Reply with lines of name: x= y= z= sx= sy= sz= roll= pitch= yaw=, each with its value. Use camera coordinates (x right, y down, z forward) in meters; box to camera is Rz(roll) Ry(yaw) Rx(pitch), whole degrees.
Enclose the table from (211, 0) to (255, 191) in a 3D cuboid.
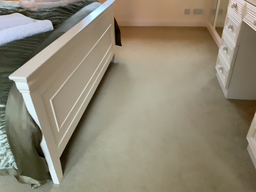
table: x=0.830 y=-0.080 z=1.210 sx=0.310 sy=0.770 sz=1.170 roll=3 pitch=34 yaw=7
